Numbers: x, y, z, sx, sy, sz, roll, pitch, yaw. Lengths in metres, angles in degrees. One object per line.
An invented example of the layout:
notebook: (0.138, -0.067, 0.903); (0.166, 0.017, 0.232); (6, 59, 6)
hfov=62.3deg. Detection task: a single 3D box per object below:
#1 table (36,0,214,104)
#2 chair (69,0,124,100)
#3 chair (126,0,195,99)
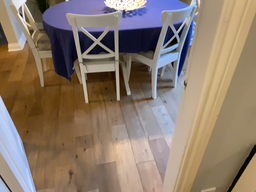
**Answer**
table: (-0.090, -0.640, 2.440); (1.530, 0.710, 1.130); (-7, 40, -10)
chair: (-0.280, -0.460, 2.090); (0.420, 0.870, 0.470); (-5, 39, -7)
chair: (0.280, -0.500, 2.150); (0.410, 0.860, 0.460); (-28, 47, -31)
